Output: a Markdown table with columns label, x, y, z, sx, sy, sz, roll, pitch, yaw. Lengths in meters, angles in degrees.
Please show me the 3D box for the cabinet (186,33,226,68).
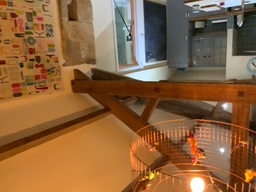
| label | x | y | z | sx | sy | sz | roll | pitch | yaw |
| --- | --- | --- | --- | --- | --- | --- | --- | --- | --- |
| cabinet | 2.210 | -1.280 | 6.080 | 0.980 | 0.910 | 0.430 | 6 | -165 | 35 |
